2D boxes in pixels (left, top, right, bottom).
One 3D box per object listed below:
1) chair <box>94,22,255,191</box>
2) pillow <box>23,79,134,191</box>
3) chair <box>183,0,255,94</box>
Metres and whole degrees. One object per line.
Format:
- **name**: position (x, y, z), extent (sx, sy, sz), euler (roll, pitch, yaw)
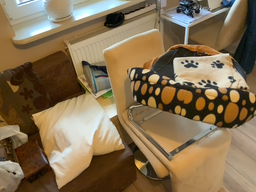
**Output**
- **chair**: position (0.240, 0.160, 1.300), extent (0.470, 0.920, 0.640), euler (-29, 47, -22)
- **pillow**: position (-0.320, 0.200, 1.360), extent (0.440, 0.220, 0.580), euler (-31, 48, -24)
- **chair**: position (0.880, -0.570, 2.000), extent (0.420, 0.920, 0.460), euler (-29, 47, -22)
